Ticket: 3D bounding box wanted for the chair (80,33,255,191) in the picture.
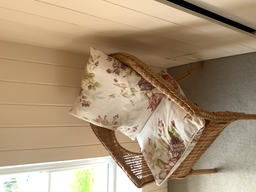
[{"bbox_3d":[0.230,0.090,1.270,0.560,0.780,0.590,56,133,44],"label":"chair"}]
